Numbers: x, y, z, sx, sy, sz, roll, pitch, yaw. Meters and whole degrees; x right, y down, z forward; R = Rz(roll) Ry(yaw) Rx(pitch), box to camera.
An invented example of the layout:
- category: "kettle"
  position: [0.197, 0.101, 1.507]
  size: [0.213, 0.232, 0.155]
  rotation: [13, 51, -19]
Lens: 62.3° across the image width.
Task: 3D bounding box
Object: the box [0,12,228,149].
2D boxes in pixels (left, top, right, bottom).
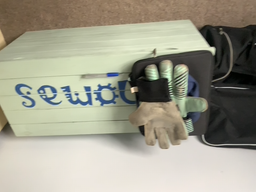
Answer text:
- category: "box"
  position: [-0.100, -0.070, 0.870]
  size: [0.790, 0.390, 0.370]
  rotation: [-3, 125, 5]
